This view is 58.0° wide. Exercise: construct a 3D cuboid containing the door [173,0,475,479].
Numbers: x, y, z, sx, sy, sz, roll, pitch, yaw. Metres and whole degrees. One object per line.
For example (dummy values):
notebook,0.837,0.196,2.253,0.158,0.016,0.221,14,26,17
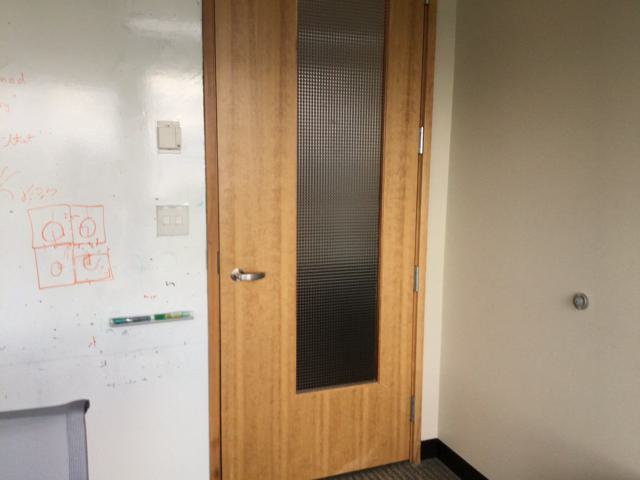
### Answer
door,0.040,-0.080,2.420,1.080,2.400,0.270,4,1,-23
